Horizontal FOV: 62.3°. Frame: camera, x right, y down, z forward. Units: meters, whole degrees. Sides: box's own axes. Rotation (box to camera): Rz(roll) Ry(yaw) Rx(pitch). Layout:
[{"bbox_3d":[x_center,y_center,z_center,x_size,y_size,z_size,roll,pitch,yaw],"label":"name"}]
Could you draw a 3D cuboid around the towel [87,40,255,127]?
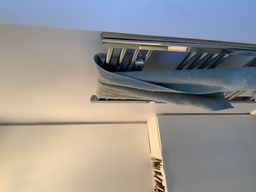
[{"bbox_3d":[0.170,-0.010,0.900,0.410,0.650,0.200,126,143,-67],"label":"towel"}]
